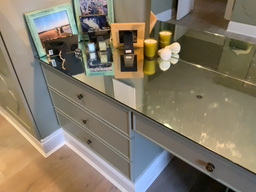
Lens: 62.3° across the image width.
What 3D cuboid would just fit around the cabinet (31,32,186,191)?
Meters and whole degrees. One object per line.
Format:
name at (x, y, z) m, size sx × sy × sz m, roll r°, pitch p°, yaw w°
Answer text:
cabinet at (-0.110, 0.090, 1.380) m, size 0.690 × 0.720 × 0.500 m, roll 26°, pitch 46°, yaw 31°

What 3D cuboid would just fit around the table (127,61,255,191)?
table at (0.430, 0.350, 1.020) m, size 0.700 × 0.720 × 0.500 m, roll 26°, pitch 46°, yaw 31°
